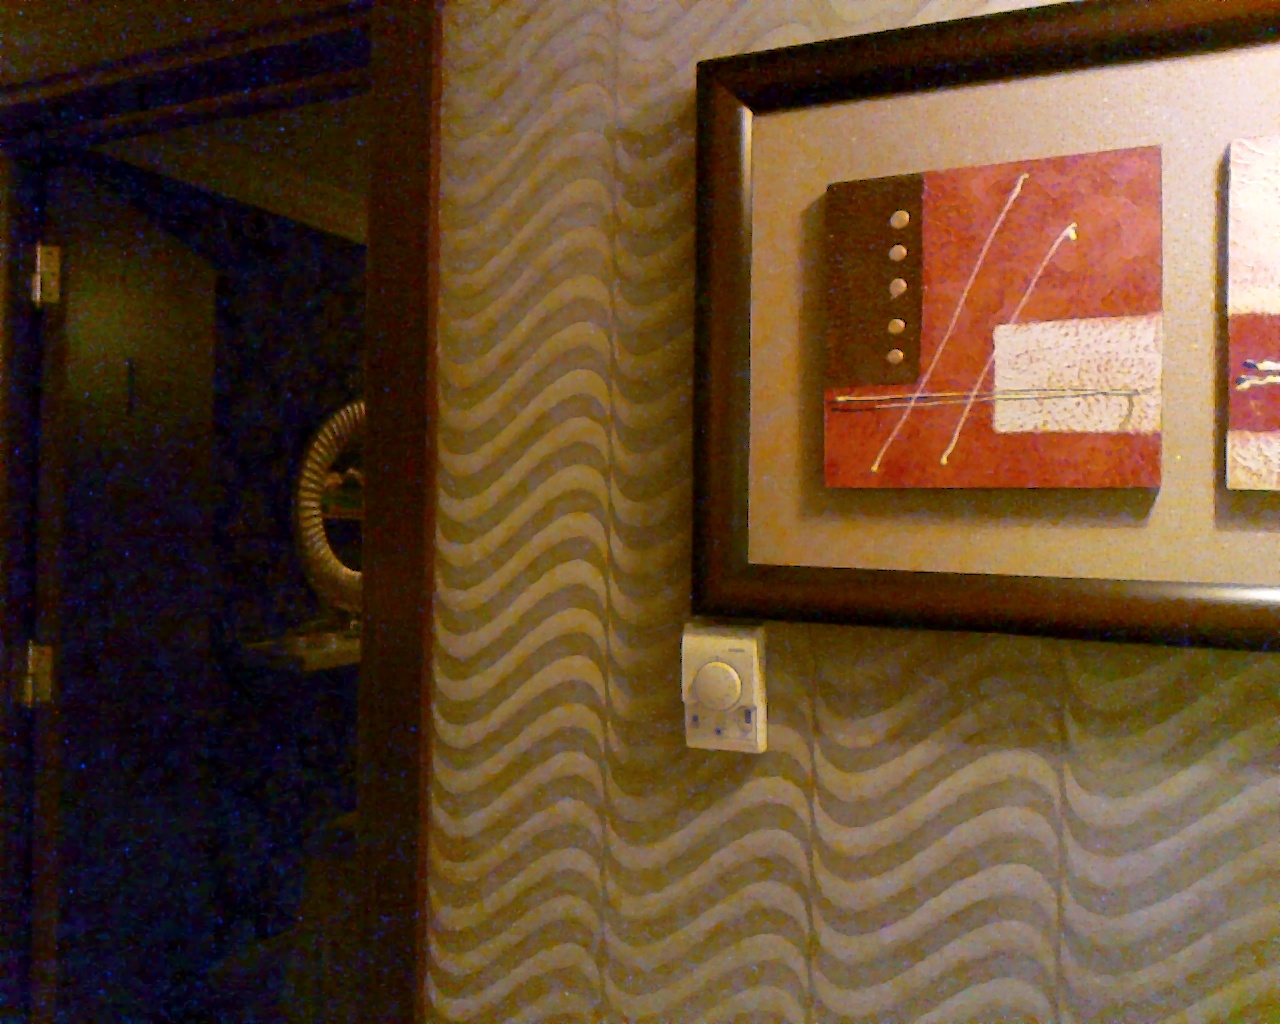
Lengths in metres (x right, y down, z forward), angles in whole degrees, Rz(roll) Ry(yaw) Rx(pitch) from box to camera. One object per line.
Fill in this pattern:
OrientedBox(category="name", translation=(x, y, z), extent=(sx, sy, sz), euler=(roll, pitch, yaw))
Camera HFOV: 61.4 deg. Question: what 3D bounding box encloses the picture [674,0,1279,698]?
OrientedBox(category="picture", translation=(0.660, -0.140, 0.850), extent=(1.350, 0.590, 0.040), euler=(1, 0, 25))
